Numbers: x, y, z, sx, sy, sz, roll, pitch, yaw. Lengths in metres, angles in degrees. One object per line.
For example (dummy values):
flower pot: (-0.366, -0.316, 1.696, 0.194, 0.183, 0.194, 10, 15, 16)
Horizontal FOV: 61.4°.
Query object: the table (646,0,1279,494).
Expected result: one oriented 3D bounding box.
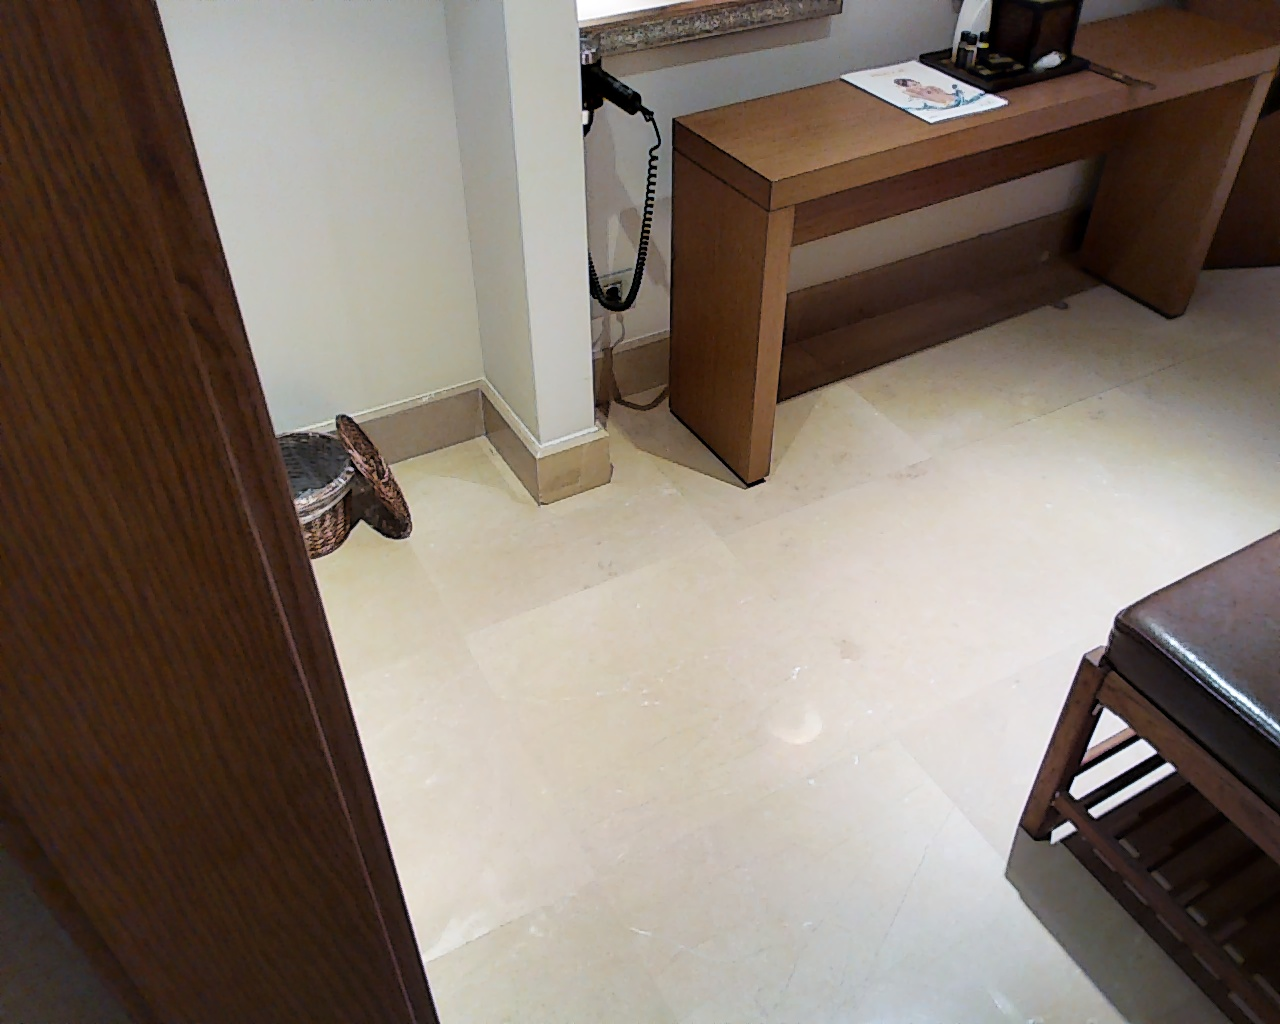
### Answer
table: (0.800, -0.720, 2.650, 1.540, 0.800, 0.450, -20, 46, -21)
